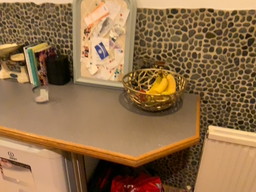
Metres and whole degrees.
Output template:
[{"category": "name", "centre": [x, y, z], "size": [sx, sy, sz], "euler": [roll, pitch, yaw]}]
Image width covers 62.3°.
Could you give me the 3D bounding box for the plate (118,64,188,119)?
[{"category": "plate", "centre": [0.140, -0.040, 1.110], "size": [0.300, 0.130, 0.290], "euler": [10, 29, 16]}]

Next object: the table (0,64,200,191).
[{"category": "table", "centre": [-0.510, 0.400, 1.380], "size": [1.710, 0.920, 0.620], "euler": [10, 29, 15]}]
